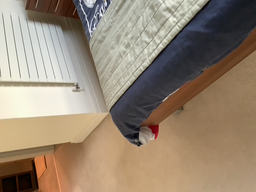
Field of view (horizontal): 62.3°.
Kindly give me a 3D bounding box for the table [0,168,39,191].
[{"bbox_3d":[-2.250,1.800,4.320,0.410,0.700,0.390,-44,58,44],"label":"table"}]
